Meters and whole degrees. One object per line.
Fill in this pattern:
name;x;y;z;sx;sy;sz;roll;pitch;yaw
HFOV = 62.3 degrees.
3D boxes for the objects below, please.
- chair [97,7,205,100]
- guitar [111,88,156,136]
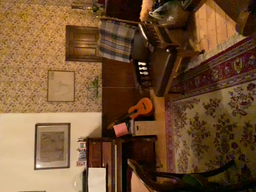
chair;0.170;-0.500;2.570;0.710;1.050;0.820;101;165;-48
guitar;0.120;0.300;4.110;0.310;0.810;0.360;-38;3;36
